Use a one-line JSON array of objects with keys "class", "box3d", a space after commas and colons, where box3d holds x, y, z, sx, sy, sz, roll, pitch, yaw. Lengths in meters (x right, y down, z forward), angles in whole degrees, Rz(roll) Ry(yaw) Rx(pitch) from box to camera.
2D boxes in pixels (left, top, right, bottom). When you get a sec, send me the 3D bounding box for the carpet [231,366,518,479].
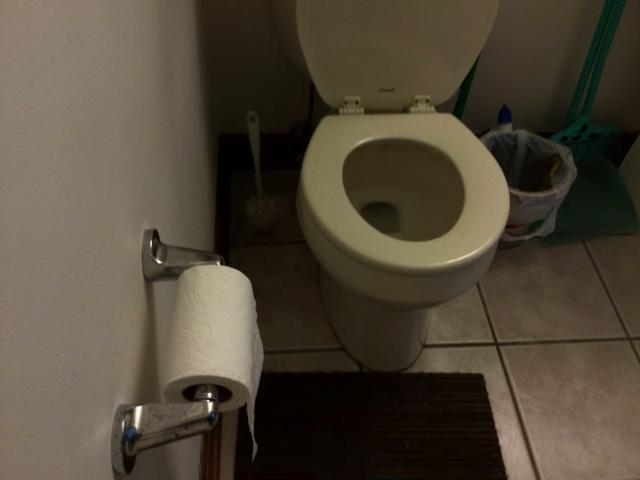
[{"class": "carpet", "box3d": [0.100, 0.470, 1.010, 0.510, 0.040, 0.510, -1, 50, -4]}]
